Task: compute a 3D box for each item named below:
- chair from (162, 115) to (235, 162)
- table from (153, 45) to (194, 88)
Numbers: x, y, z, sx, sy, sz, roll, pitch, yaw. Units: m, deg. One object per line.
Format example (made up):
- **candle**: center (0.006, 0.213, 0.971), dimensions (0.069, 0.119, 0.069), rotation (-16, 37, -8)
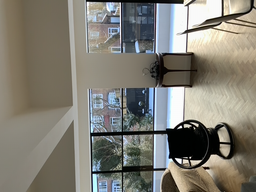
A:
- **chair**: center (1.040, 0.650, 3.320), dimensions (0.760, 0.790, 0.610), rotation (119, 150, -77)
- **table**: center (0.920, -0.600, 4.360), dimensions (0.340, 0.720, 0.830), rotation (-124, 34, -79)
